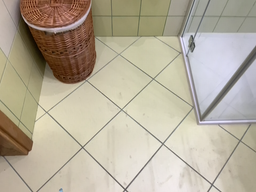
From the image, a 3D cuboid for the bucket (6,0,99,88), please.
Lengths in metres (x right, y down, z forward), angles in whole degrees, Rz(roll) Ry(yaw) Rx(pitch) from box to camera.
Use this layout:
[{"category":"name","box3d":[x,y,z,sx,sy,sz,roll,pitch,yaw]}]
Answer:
[{"category":"bucket","box3d":[-0.390,-0.400,1.330,0.360,0.580,0.450,0,59,-3]}]
